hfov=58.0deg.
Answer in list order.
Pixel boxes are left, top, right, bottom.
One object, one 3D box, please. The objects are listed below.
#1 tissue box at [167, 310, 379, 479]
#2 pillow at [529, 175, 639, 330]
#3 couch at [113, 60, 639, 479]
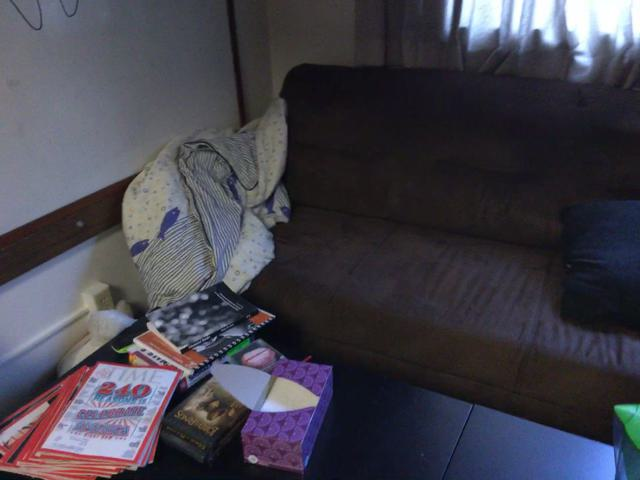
[{"bbox_3d":[-0.080,0.320,1.240,0.290,0.120,0.380,9,26,26],"label":"tissue box"},{"bbox_3d":[0.900,0.030,1.580,0.540,0.250,0.440,9,26,26],"label":"pillow"},{"bbox_3d":[0.540,-0.010,1.840,1.880,0.950,1.120,9,26,26],"label":"couch"}]
